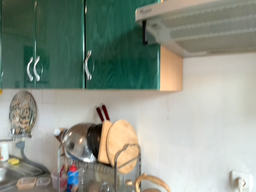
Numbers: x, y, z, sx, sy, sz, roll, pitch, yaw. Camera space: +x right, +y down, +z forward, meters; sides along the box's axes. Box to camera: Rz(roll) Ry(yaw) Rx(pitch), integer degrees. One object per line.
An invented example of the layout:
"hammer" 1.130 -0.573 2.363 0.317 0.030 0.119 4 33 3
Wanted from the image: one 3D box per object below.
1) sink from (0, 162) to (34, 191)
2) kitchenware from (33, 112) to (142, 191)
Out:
"sink" -1.010 0.670 1.570 0.400 0.160 0.420 2 2 33
"kitchenware" -0.270 0.360 1.290 0.660 0.460 0.250 2 2 33
